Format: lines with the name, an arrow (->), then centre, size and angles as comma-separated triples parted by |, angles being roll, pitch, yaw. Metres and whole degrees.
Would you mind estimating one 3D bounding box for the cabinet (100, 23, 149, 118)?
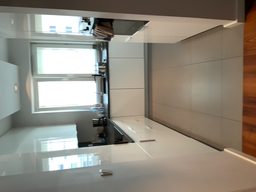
cabinet -> -0.100, -0.500, 4.470 | 0.780, 0.860, 1.780 | -164, 74, -75
